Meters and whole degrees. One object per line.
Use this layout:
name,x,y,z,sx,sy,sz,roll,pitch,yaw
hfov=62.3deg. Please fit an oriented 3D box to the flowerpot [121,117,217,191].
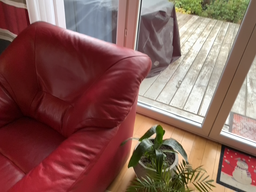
flowerpot,0.270,0.480,1.390,0.440,0.330,0.500,20,39,19

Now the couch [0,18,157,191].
couch,-0.520,0.190,1.270,0.960,0.880,0.930,22,39,20
